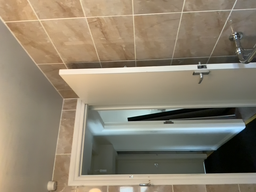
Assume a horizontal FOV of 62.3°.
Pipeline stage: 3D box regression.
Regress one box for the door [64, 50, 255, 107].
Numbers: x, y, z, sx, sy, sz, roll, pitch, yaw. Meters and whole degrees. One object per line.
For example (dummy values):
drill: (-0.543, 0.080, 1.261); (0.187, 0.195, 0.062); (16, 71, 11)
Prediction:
door: (0.600, -0.100, 1.700); (0.780, 1.990, 0.110); (82, -173, -70)
